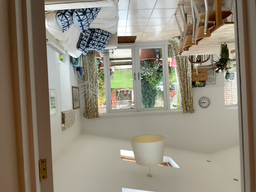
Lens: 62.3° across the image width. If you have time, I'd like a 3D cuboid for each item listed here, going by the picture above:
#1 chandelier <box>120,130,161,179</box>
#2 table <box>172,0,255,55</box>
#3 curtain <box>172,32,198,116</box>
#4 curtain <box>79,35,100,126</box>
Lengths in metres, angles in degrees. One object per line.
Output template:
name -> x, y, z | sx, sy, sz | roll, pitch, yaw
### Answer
chandelier -> 0.200, 0.950, 3.570 | 0.600, 0.590, 0.710 | -3, -179, 1
table -> 1.500, -1.260, 3.560 | 0.980, 0.760, 1.910 | -3, -179, -3
curtain -> 1.560, -0.580, 5.830 | 0.540, 2.230, 0.290 | -3, -179, -5
curtain -> -1.030, -0.410, 5.730 | 0.420, 2.410, 0.190 | -3, -179, -5
